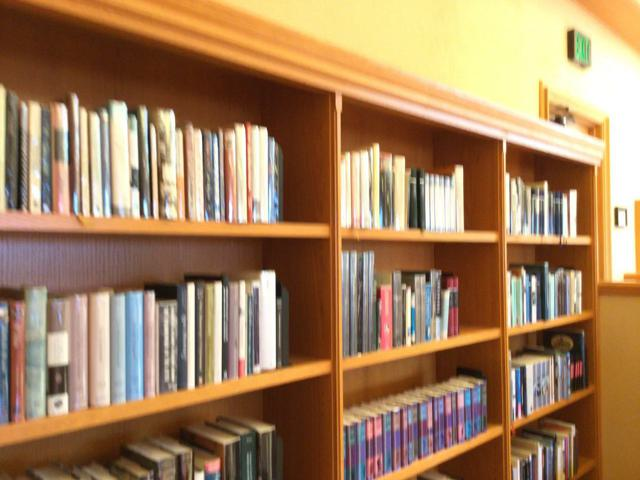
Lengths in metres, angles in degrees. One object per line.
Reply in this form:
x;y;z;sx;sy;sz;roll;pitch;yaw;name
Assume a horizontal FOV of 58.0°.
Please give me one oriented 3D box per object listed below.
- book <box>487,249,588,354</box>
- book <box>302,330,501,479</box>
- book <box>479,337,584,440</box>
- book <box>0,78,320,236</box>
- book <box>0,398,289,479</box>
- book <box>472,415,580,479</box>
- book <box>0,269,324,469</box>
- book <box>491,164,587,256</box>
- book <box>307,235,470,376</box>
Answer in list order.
0.950;0.240;2.480;0.140;0.380;0.650;-4;-2;44;book
0.320;0.560;1.940;0.140;0.390;0.900;-4;-2;44;book
0.930;0.620;2.510;0.210;0.310;0.540;-4;-2;44;book
-0.340;-0.150;1.280;0.090;0.270;0.870;-4;-2;44;book
-0.430;0.600;1.280;0.220;0.300;0.780;-4;-2;44;book
0.880;0.970;2.430;0.200;0.300;0.560;-4;-2;44;book
-0.360;0.240;1.310;0.160;0.300;0.880;-4;-2;44;book
0.960;-0.120;2.490;0.100;0.350;0.700;-4;-2;44;book
0.250;0.180;1.870;0.110;0.380;0.690;-4;-2;44;book
